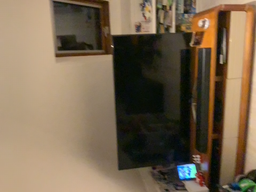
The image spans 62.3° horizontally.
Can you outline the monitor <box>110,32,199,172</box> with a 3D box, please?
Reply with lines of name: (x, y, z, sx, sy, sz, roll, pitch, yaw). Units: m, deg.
monitor: (0.320, 0.080, 2.320, 0.070, 0.930, 1.470, -133, 40, -76)
